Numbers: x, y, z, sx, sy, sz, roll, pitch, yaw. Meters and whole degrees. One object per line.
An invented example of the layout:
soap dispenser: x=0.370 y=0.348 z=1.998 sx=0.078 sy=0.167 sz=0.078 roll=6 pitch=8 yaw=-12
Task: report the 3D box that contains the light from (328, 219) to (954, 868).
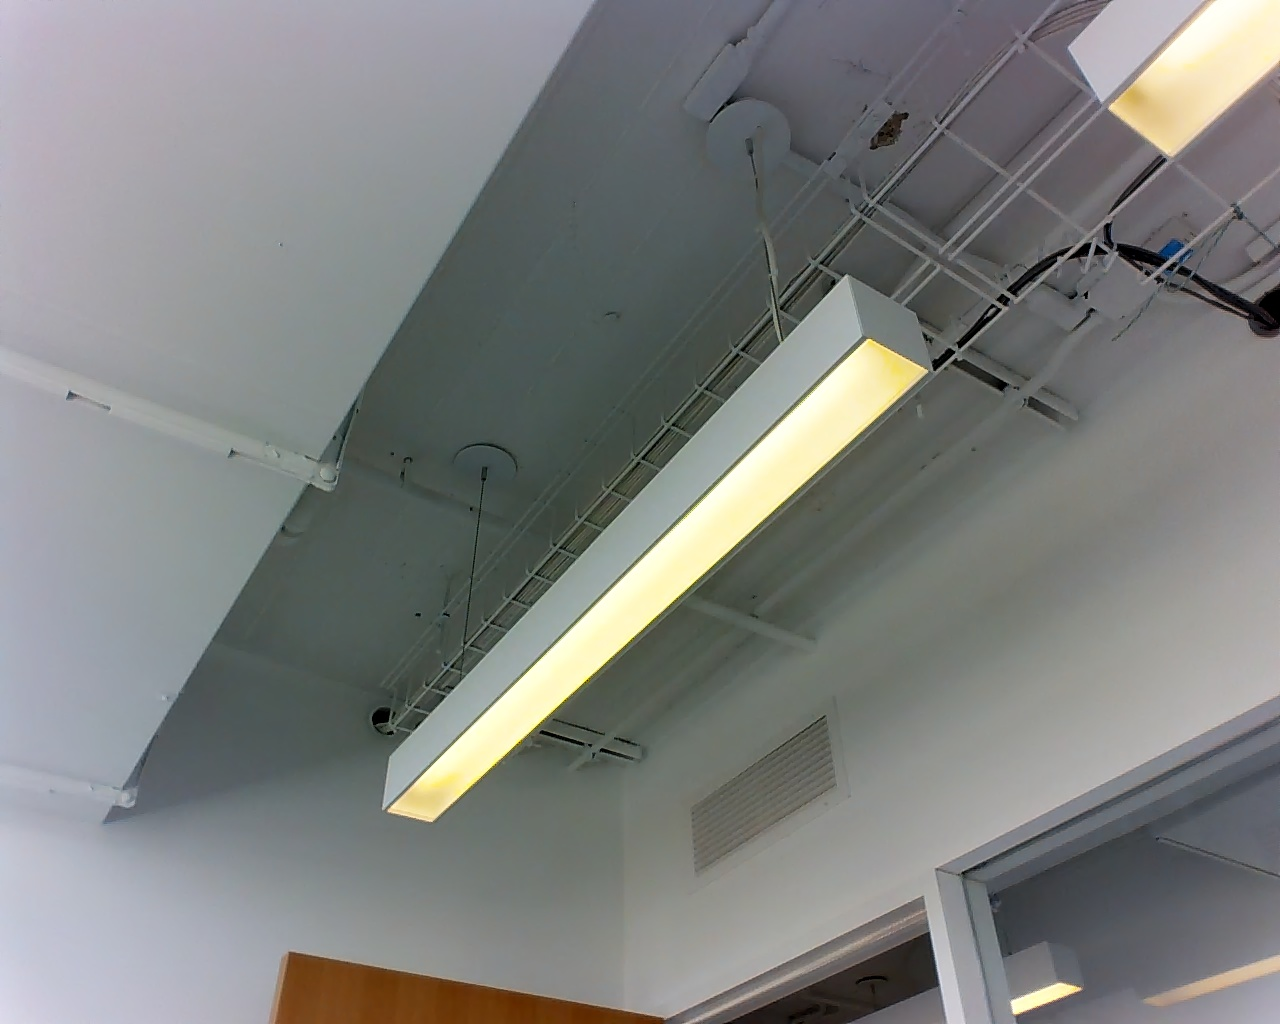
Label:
light: x=-0.110 y=0.160 z=1.550 sx=0.170 sy=0.200 sz=1.330 roll=23 pitch=-47 yaw=-24
